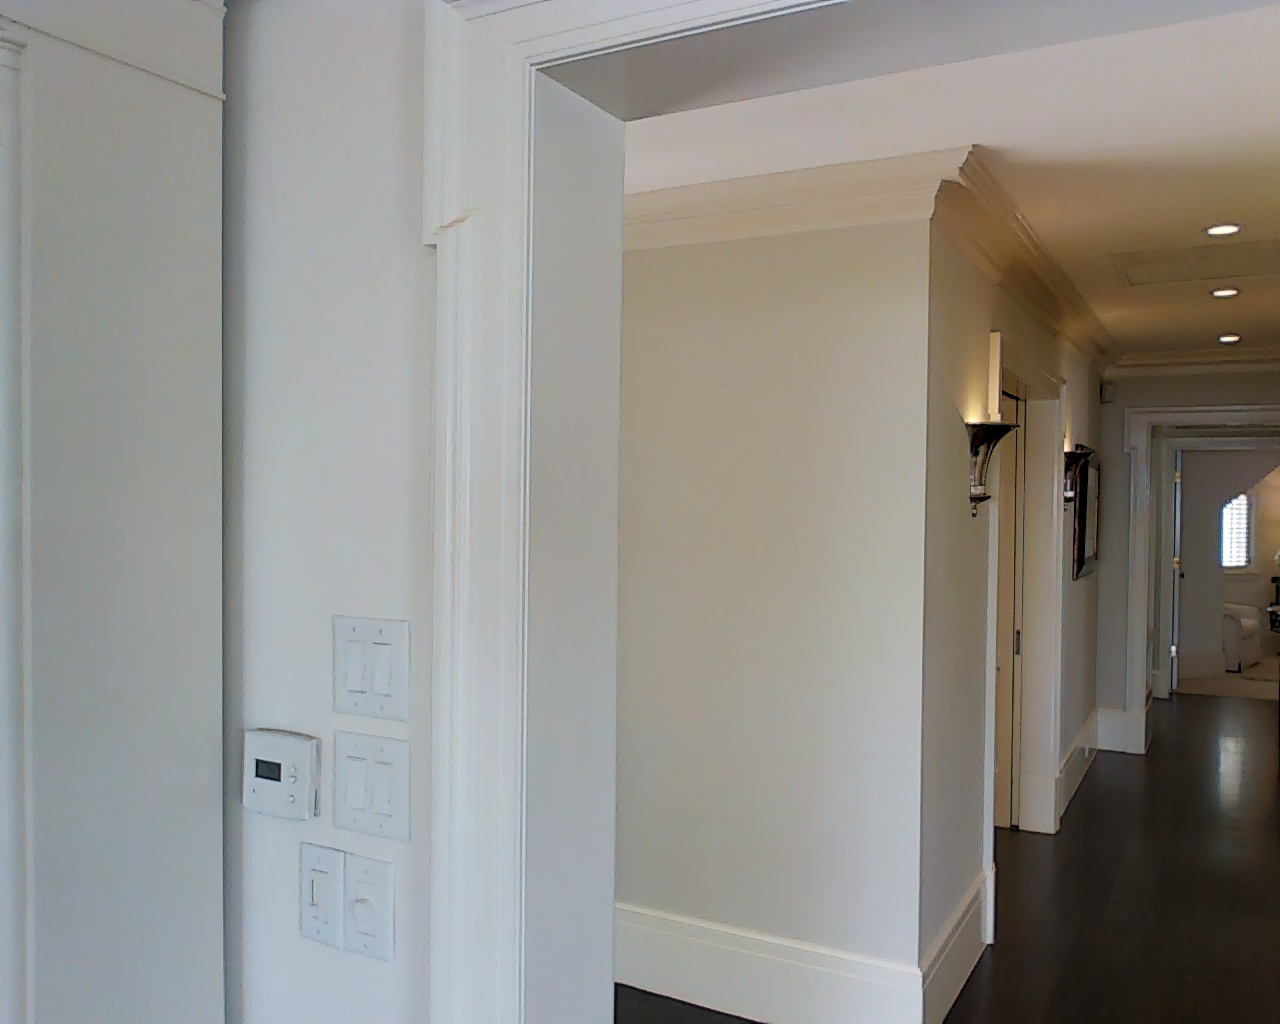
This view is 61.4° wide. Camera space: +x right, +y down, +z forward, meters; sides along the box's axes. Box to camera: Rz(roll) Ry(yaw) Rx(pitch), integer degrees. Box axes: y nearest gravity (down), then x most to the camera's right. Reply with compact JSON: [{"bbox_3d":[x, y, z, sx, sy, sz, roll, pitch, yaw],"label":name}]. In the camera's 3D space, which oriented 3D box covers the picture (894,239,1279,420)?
[{"bbox_3d":[2.520,-0.730,4.630,2.410,0.470,1.750,1,1,28],"label":"picture"}]
